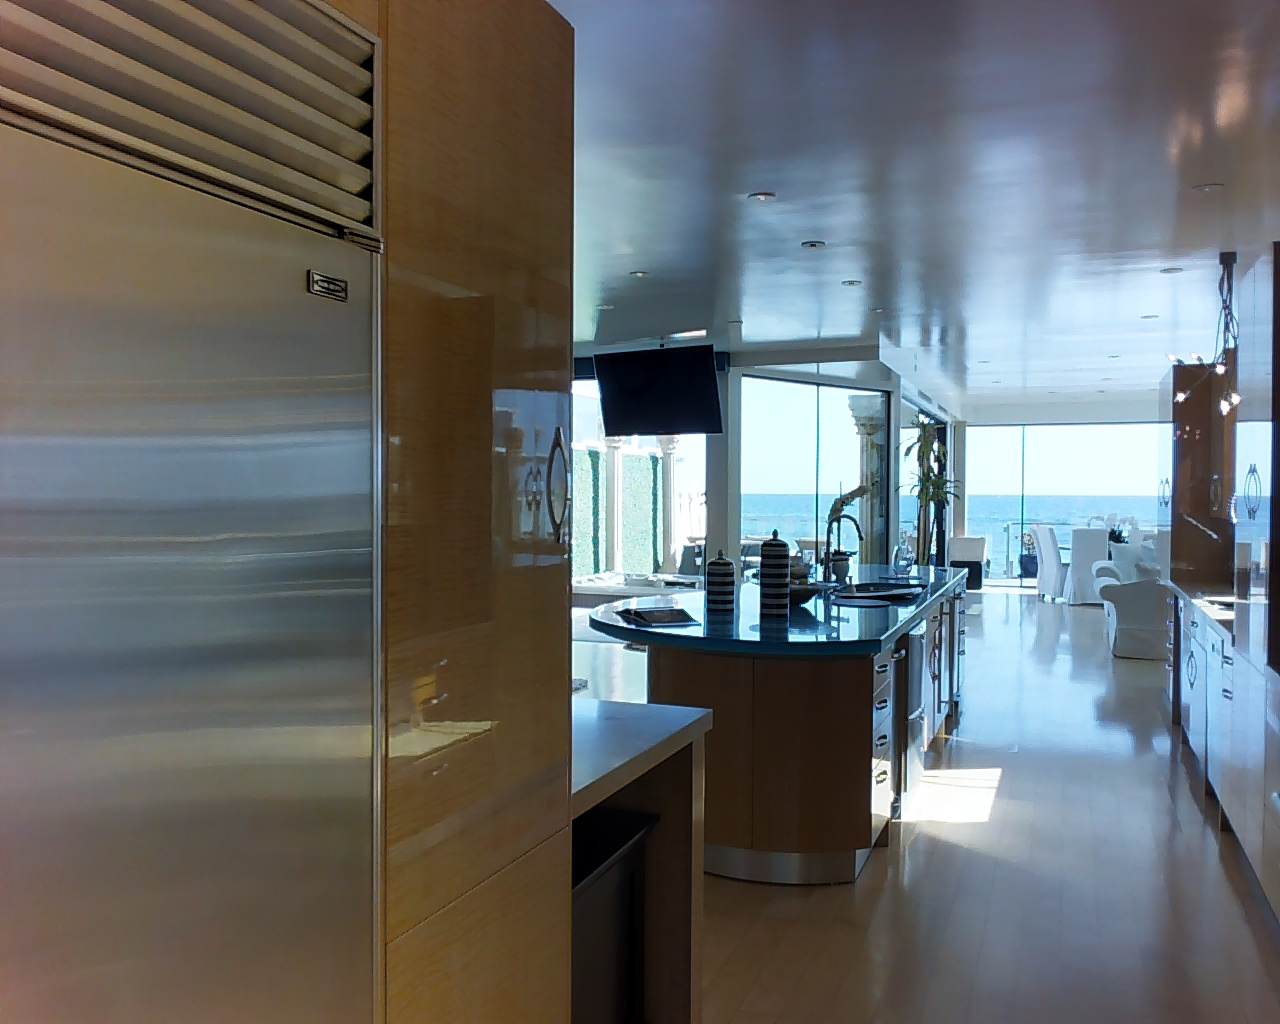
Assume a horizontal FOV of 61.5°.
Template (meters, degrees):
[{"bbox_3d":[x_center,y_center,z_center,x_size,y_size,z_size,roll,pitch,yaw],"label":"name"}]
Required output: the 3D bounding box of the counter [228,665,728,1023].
[{"bbox_3d":[-0.350,0.990,2.730,0.890,1.000,0.940,1,2,22],"label":"counter"}]
